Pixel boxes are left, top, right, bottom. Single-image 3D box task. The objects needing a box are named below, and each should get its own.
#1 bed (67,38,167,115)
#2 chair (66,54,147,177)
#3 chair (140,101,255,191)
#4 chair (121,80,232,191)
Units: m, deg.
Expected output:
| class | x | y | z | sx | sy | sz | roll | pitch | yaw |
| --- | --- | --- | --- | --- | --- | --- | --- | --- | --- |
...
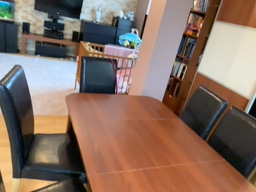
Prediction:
| class | x | y | z | sx | sy | sz | roll | pitch | yaw |
| --- | --- | --- | --- | --- | --- | --- | --- | --- | --- |
| bed | -0.240 | -0.310 | 3.610 | 1.390 | 0.960 | 0.730 | 5 | 24 | -22 |
| chair | -0.270 | 0.170 | 2.140 | 0.430 | 1.000 | 0.600 | -1 | 26 | -33 |
| chair | 0.520 | 0.600 | 1.580 | 0.600 | 1.010 | 0.420 | 4 | 24 | -23 |
| chair | 0.380 | 0.420 | 1.920 | 0.590 | 1.000 | 0.390 | 4 | 24 | -23 |
